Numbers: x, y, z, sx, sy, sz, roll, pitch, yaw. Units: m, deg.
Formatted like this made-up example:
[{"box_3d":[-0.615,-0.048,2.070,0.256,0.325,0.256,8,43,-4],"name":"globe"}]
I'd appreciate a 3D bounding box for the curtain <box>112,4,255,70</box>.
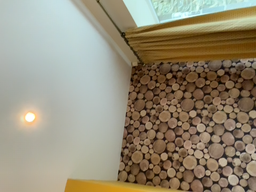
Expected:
[{"box_3d":[1.200,-0.600,2.200,0.810,2.650,0.170,36,-124,-61],"name":"curtain"}]
